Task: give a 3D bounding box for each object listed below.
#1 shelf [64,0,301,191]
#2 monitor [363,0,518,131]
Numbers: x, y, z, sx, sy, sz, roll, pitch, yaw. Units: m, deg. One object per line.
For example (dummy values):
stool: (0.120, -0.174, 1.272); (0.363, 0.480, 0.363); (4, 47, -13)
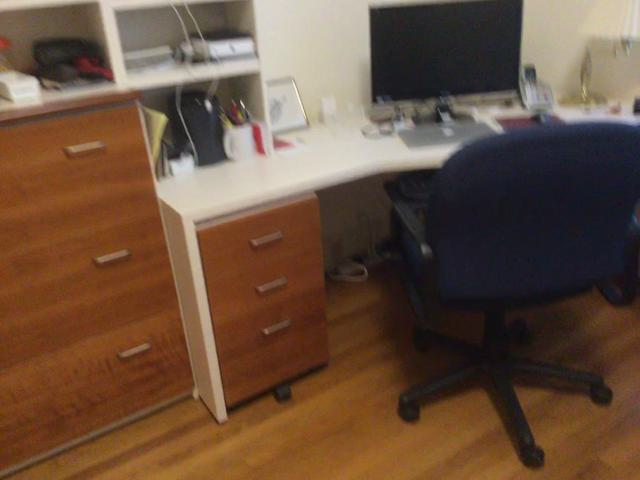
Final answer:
shelf: (-0.440, -0.920, 1.640); (0.570, 1.420, 0.340); (-19, 29, -29)
monitor: (0.430, -0.650, 2.130); (0.500, 0.410, 0.200); (-7, 25, -5)
